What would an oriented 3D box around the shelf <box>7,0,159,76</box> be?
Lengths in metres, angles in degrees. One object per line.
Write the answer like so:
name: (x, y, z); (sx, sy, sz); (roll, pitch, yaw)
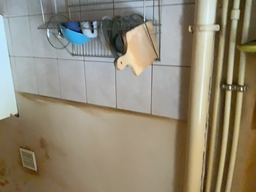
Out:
shelf: (-0.190, -0.360, 0.930); (0.570, 0.450, 0.310); (8, -162, 25)
